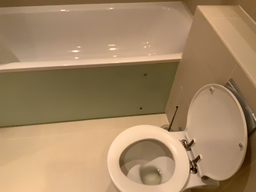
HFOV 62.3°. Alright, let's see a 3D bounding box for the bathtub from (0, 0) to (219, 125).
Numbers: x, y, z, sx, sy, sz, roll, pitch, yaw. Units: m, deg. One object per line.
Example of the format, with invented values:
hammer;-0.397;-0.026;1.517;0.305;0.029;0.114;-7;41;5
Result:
bathtub;-0.350;-0.280;1.610;1.690;0.580;0.680;-4;50;-7
